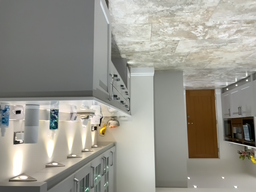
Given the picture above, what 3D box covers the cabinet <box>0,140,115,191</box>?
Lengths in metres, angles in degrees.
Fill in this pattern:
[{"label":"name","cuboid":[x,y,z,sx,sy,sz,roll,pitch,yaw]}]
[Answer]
[{"label":"cabinet","cuboid":[-0.540,1.120,2.300,0.360,1.020,2.680,-1,173,6]}]
